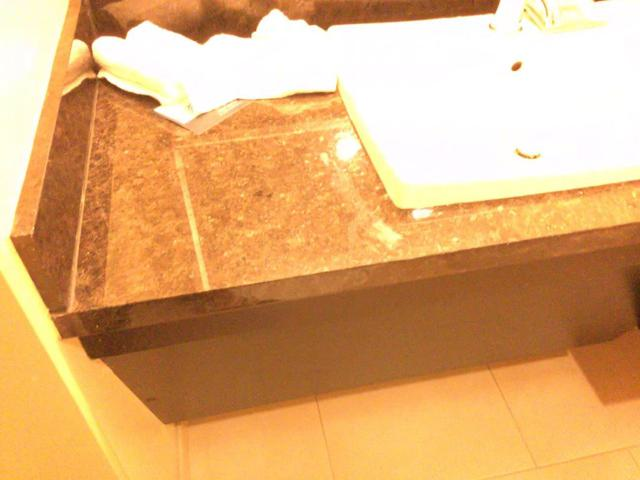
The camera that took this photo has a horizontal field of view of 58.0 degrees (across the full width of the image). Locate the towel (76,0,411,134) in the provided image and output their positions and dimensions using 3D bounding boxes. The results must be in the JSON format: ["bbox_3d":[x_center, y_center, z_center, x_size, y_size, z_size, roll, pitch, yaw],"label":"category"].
[{"bbox_3d":[-0.120,-0.290,0.870,0.440,0.080,0.250,-10,45,-11],"label":"towel"}]
